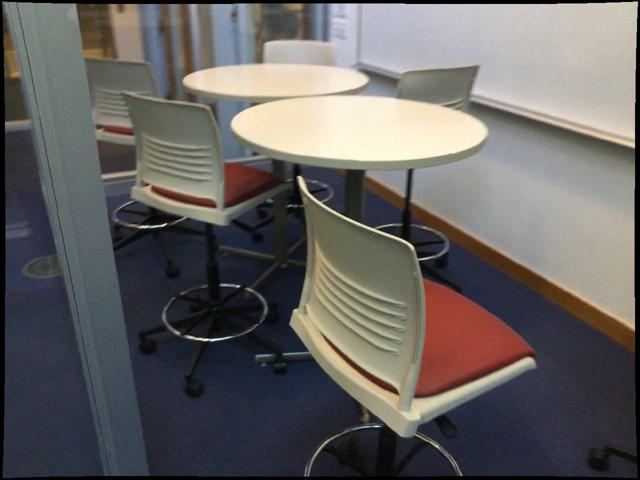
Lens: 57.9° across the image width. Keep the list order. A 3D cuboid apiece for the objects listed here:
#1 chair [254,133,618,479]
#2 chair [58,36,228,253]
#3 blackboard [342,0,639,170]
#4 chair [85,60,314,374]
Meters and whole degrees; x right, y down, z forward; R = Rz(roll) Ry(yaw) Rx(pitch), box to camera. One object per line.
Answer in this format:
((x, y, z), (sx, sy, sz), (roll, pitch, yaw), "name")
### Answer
((0.210, 0.370, 1.520), (0.550, 1.111, 0.580), (-12, 30, -24), "chair")
((-0.929, -0.541, 3.200), (0.609, 1.021, 0.500), (10, 28, 17), "chair")
((1.079, -0.921, 2.720), (0.130, 0.801, 3.770), (-12, 30, -24), "blackboard")
((-0.440, -0.130, 2.420), (0.600, 1.061, 0.610), (15, 30, 25), "chair")
